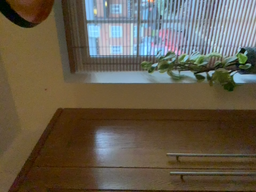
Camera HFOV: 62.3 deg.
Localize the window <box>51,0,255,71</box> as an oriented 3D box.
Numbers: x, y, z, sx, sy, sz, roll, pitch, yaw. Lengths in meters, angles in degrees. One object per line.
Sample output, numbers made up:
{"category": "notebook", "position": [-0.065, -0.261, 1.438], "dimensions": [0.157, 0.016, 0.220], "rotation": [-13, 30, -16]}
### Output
{"category": "window", "position": [0.220, -0.670, 1.000], "dimensions": [0.100, 1.210, 1.130], "rotation": [-88, -1, -61]}
